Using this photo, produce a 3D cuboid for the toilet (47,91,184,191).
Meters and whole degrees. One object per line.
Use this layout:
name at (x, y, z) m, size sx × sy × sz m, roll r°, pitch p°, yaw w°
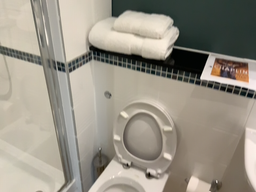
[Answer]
toilet at (-0.030, 0.500, 1.140) m, size 0.380 × 0.840 × 0.520 m, roll 18°, pitch 35°, yaw 22°
